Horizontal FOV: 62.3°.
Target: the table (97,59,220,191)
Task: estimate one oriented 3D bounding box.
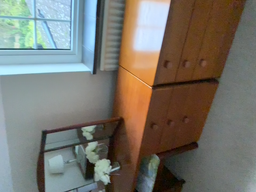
[{"bbox_3d":[0.160,0.540,1.930,0.520,0.630,1.640,40,129,48],"label":"table"}]

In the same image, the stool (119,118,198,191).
[{"bbox_3d":[0.250,0.570,1.940,0.410,0.470,0.520,41,130,48],"label":"stool"}]
